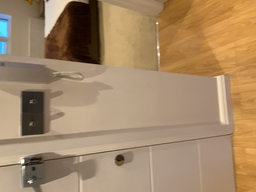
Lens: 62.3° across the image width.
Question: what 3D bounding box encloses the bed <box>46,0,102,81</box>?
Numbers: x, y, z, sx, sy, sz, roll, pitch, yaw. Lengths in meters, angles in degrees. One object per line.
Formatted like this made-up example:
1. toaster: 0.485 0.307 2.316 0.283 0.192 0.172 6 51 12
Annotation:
1. bed: -1.060 -1.310 3.890 1.410 0.530 1.910 -5 85 56
